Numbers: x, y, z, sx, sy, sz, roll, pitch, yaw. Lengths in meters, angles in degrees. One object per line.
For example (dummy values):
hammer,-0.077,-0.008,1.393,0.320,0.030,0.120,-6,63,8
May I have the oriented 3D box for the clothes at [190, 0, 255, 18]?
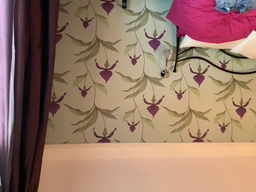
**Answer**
clothes,0.810,-0.760,1.730,0.470,0.070,0.420,1,178,-3
